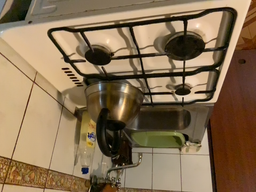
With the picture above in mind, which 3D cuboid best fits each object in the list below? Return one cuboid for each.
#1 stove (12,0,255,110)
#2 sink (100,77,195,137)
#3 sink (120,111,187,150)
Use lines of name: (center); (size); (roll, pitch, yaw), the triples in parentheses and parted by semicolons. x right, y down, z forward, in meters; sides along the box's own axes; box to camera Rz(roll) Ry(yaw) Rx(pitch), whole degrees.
stove: (0.060, -0.120, 0.720); (0.600, 0.150, 0.510); (-1, 154, 11)
sink: (0.120, 0.080, 1.140); (0.410, 0.160, 0.420); (-1, 154, 11)
sink: (0.190, 0.250, 1.490); (0.410, 0.160, 0.360); (-1, 154, 11)
